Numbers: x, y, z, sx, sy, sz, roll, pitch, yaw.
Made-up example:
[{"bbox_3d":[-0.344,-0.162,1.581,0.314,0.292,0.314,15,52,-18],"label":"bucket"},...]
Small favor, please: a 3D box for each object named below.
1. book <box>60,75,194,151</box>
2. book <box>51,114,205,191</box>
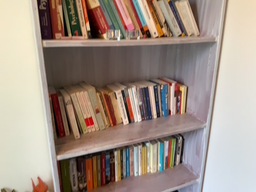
[{"bbox_3d":[0.000,0.060,1.220,0.700,0.260,0.250,-7,21,-22],"label":"book"},{"bbox_3d":[0.020,0.390,1.240,0.820,0.360,0.280,-9,21,-26],"label":"book"}]
